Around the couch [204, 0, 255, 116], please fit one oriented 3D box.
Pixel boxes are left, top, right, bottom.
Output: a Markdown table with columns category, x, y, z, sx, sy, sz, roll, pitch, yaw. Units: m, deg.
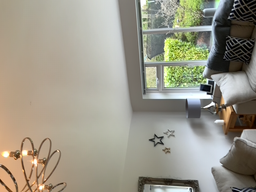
| category | x | y | z | sx | sy | sz | roll | pitch | yaw |
| --- | --- | --- | --- | --- | --- | --- | --- | --- | --- |
| couch | 1.700 | -0.860 | 2.820 | 1.030 | 0.910 | 2.150 | -80 | -13 | -49 |
